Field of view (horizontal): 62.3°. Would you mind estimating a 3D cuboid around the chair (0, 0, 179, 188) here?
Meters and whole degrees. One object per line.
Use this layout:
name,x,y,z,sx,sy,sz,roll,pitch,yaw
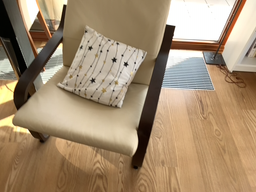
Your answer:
chair,-0.150,-0.230,1.180,0.670,0.980,0.980,14,50,6
